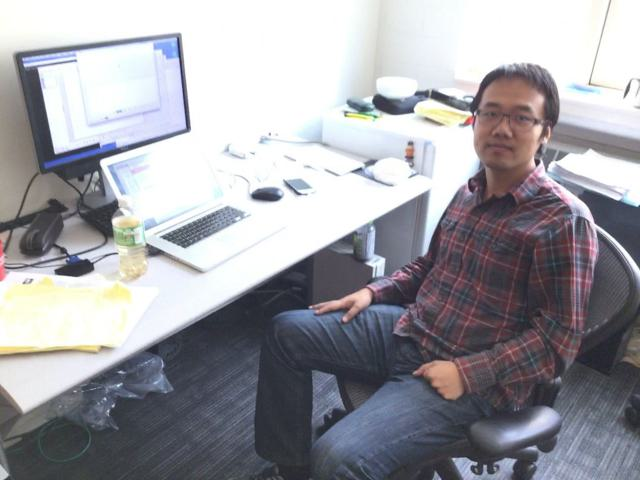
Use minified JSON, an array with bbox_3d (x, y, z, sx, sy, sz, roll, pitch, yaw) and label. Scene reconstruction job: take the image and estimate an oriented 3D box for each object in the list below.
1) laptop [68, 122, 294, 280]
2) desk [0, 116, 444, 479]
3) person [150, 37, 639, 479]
[{"bbox_3d":[-0.380,-0.140,1.630,0.460,0.210,0.400,22,35,33],"label":"laptop"},{"bbox_3d":[-0.370,0.210,1.870,0.750,0.750,1.620,22,35,33],"label":"desk"},{"bbox_3d":[0.220,0.200,1.480,0.790,1.190,0.830,23,35,33],"label":"person"}]
